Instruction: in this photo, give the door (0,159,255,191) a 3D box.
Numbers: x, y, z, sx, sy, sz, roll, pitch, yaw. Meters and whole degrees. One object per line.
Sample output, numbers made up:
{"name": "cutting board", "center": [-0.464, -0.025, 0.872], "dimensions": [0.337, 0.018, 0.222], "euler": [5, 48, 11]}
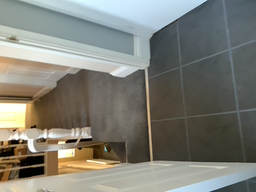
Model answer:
{"name": "door", "center": [-0.460, 0.330, 0.620], "dimensions": [0.910, 1.730, 0.090], "euler": [-20, 70, 51]}
